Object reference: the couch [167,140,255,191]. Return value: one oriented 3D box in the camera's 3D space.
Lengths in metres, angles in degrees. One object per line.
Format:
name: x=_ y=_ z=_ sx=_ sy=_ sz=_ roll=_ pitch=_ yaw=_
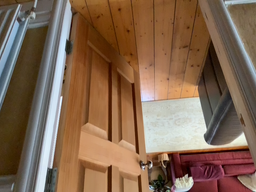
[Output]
couch: x=1.810 y=1.560 z=4.170 sx=1.900 sy=0.970 sz=1.040 roll=-6 pitch=149 yaw=4
